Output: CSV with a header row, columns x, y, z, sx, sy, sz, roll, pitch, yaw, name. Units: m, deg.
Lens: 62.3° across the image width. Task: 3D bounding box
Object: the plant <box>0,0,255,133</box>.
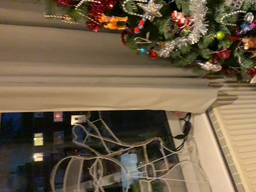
x,y,z,sx,sy,sz,roll,pitch,yaw,name
0.390,-0.530,1.030,0.920,1.680,1.020,117,147,-55,plant
